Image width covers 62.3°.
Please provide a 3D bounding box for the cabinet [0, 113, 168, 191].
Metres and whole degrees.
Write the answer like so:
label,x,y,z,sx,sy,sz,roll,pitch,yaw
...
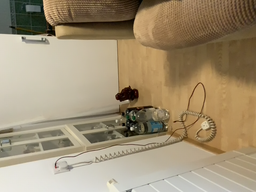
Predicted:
label,x,y,z,sx,sy,sz,roll,pitch,yaw
cabinet,-0.630,0.510,1.820,0.850,1.770,0.380,13,106,61
